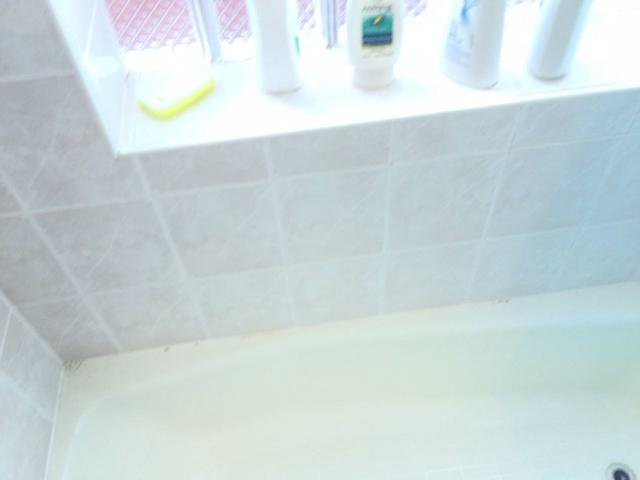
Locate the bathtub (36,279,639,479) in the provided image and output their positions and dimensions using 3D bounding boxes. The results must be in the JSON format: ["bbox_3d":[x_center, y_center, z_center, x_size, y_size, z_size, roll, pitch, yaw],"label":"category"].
[{"bbox_3d":[0.190,0.570,1.220,1.450,0.360,0.750,-7,52,-2],"label":"bathtub"}]

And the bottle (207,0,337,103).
[{"bbox_3d":[-0.070,-0.350,0.840,0.170,0.250,0.130,-7,52,-2],"label":"bottle"}]
